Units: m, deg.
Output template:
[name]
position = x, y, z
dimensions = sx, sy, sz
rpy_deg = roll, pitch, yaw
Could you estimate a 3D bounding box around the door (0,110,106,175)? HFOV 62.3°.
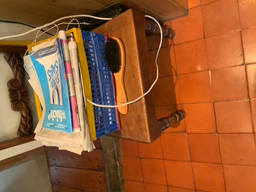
[door]
position = -0.790, 0.410, 1.270
dimensions = 1.060, 0.930, 0.070
rpy_deg = -31, 80, 30
